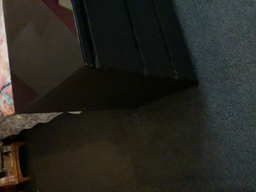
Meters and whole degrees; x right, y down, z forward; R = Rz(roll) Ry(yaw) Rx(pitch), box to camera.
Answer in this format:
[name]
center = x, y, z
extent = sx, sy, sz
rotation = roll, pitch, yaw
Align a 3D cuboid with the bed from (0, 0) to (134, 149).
[bed]
center = -1.150, -0.480, 2.030
extent = 2.210, 0.630, 1.660
rotation = -24, 73, 38
